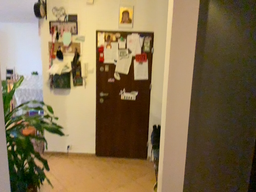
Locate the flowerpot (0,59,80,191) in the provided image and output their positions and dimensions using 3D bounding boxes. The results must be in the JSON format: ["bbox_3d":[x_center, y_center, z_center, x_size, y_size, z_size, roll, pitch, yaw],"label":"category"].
[{"bbox_3d":[-1.120,0.360,2.220,0.950,1.440,0.820,3,12,6],"label":"flowerpot"}]
